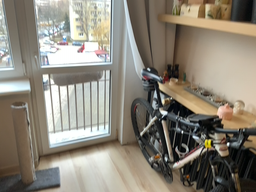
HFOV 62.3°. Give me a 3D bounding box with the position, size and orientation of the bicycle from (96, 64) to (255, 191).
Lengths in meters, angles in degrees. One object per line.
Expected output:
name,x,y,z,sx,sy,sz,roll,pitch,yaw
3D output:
bicycle,0.310,0.490,1.610,0.710,1.060,1.560,-7,25,-23
